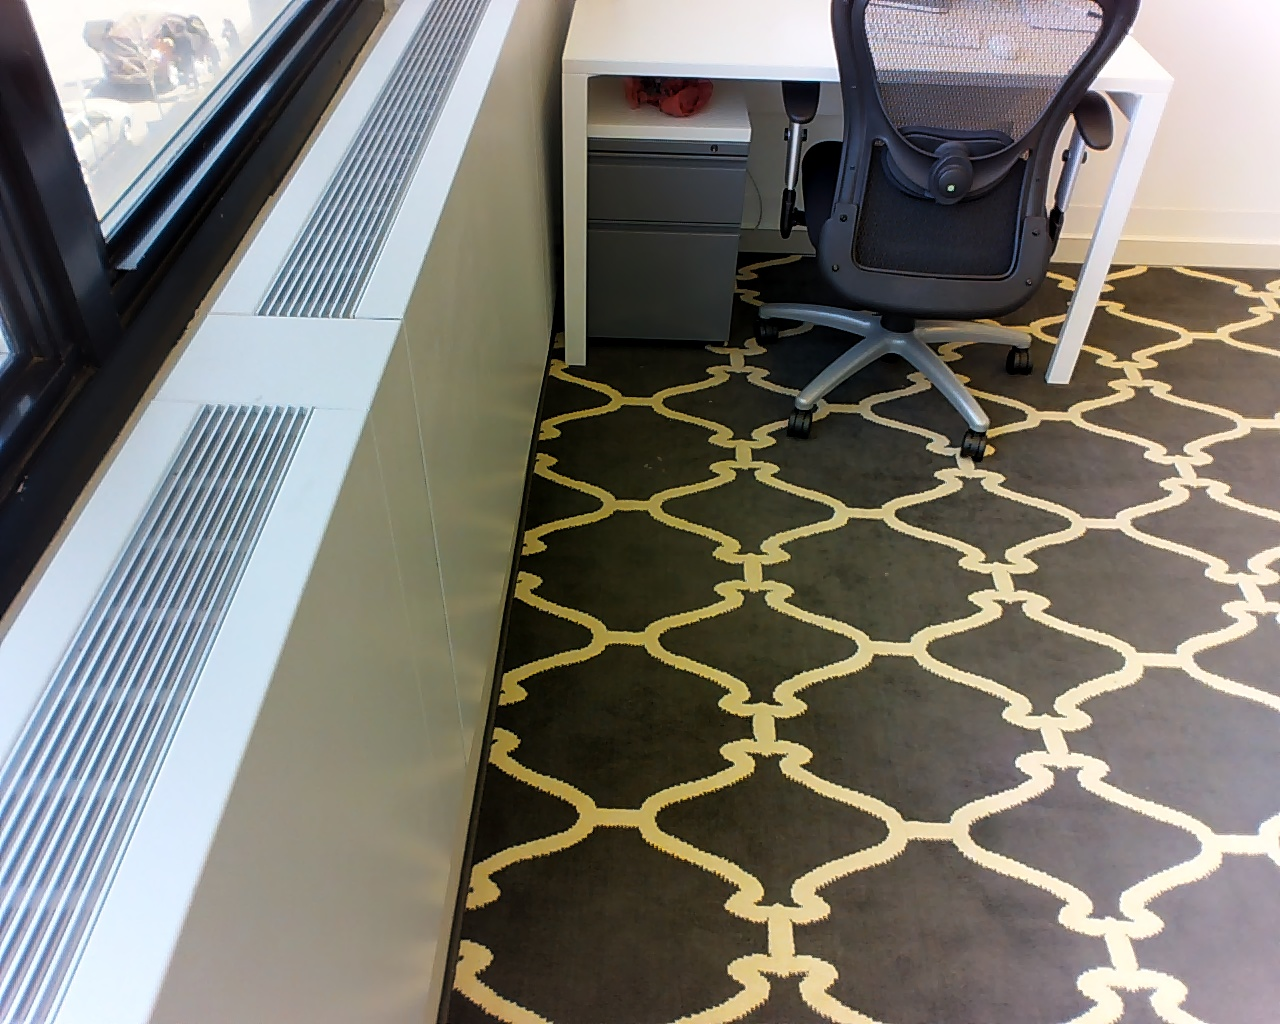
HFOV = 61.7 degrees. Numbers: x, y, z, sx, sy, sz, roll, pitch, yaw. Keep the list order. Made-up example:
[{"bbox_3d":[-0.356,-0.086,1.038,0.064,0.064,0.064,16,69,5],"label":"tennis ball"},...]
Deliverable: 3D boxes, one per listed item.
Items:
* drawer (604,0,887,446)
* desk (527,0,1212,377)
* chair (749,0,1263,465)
[{"bbox_3d":[0.180,-0.800,2.360,0.470,1.020,0.800,1,41,1],"label":"drawer"},{"bbox_3d":[0.460,-0.860,2.650,1.360,0.720,0.750,1,41,1],"label":"desk"},{"bbox_3d":[0.650,-0.750,2.320,0.710,1.010,0.790,1,41,1],"label":"chair"}]
